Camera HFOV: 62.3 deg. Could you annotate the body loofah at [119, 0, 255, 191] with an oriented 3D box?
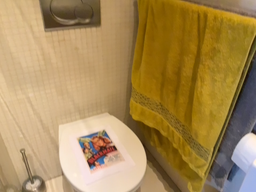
[{"bbox_3d":[0.180,0.140,1.040,0.210,1.120,0.620,-12,35,-22],"label":"body loofah"}]
